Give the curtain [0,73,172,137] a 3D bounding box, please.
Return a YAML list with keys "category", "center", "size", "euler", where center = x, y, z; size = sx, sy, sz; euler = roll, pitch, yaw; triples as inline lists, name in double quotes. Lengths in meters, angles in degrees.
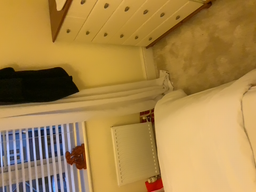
- category: "curtain"
  center: [-0.600, 0.060, 1.680]
  size: [0.190, 2.220, 0.410]
  euler: [-20, 77, 59]
